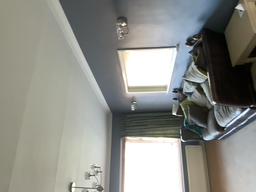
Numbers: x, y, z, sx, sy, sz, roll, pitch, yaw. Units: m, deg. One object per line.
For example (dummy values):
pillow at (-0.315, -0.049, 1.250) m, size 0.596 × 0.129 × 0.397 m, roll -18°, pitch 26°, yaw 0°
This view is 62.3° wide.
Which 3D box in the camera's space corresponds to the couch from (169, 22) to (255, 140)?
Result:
couch at (1.230, -0.030, 3.400) m, size 2.100 × 0.870 × 1.050 m, roll 80°, pitch -169°, yaw -67°
